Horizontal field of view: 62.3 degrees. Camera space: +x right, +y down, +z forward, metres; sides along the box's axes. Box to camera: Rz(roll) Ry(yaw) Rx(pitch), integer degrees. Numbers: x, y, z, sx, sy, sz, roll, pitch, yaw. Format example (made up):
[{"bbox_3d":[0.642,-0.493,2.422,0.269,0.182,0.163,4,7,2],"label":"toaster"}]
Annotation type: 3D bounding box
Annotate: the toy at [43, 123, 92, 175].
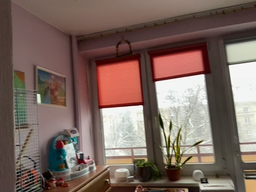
[{"bbox_3d":[-0.510,0.440,1.840,0.250,0.370,0.370,-6,-5,9],"label":"toy"}]
